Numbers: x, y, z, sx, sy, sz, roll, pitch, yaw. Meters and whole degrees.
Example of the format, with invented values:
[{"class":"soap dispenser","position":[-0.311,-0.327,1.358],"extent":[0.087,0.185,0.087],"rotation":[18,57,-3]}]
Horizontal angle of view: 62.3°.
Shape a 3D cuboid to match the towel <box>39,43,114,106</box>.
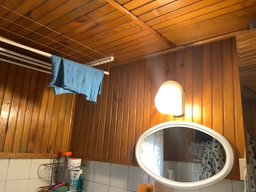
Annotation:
[{"class":"towel","position":[-0.280,-0.100,1.260],"extent":[0.130,0.250,0.420],"rotation":[-7,-16,39]}]
